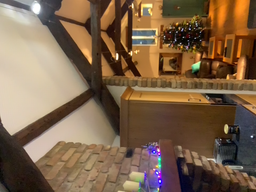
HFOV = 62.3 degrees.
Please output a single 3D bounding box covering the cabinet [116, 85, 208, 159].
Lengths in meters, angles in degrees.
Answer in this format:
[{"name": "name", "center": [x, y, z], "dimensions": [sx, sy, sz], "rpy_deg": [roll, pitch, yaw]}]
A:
[{"name": "cabinet", "center": [0.410, 0.290, 2.840], "dimensions": [0.740, 1.030, 0.710], "rpy_deg": [-62, -26, -75]}]
